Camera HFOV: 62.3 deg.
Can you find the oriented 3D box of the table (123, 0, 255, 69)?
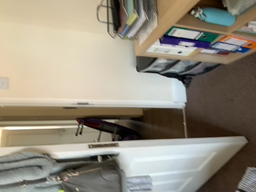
[{"bbox_3d":[0.480,-0.530,1.240,0.790,0.780,0.470,154,116,-66],"label":"table"}]
